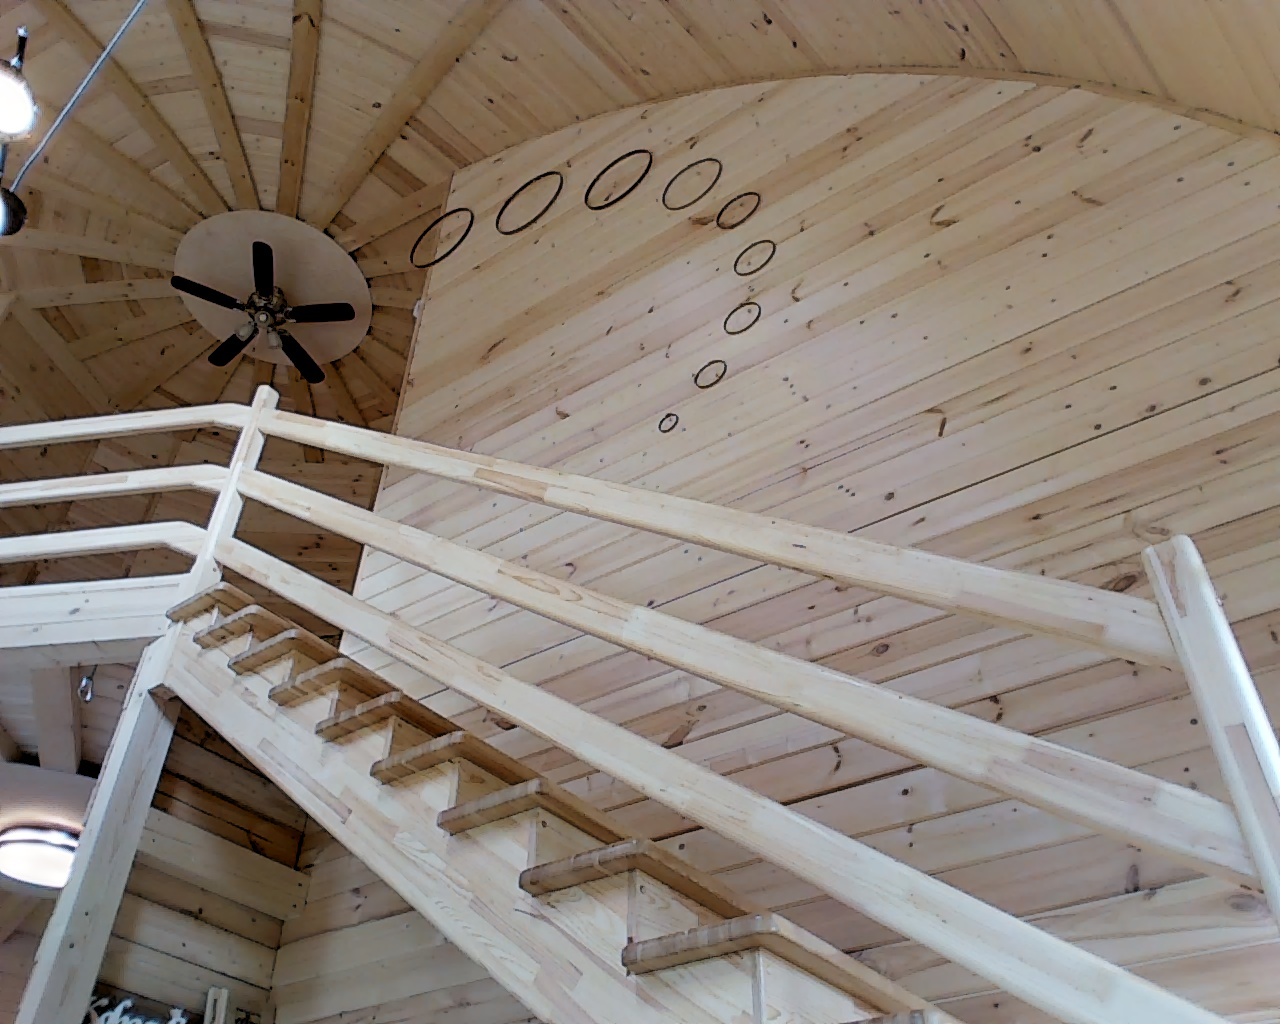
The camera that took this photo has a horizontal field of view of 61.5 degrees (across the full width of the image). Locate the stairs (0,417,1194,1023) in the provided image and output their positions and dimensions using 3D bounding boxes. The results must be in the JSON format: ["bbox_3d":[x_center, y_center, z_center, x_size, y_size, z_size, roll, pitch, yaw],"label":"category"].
[{"bbox_3d":[-0.080,0.740,2.200,4.930,0.480,1.410,17,-20,48],"label":"stairs"}]
